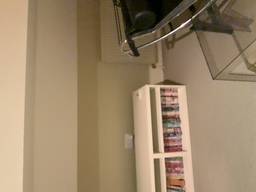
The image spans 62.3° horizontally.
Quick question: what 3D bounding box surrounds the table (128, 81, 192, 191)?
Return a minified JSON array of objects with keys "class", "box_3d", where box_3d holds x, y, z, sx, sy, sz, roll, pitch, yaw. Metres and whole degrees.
[{"class":"table","box_3d":[0.280,0.520,2.010,0.470,0.400,1.240,155,114,-72]}]
